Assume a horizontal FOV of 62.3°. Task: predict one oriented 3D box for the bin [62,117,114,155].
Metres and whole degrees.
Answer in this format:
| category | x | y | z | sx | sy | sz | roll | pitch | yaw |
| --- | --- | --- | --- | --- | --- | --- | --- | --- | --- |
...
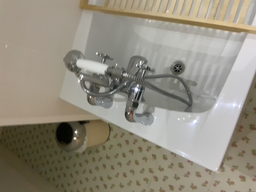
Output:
| category | x | y | z | sx | sy | sz | roll | pitch | yaw |
| --- | --- | --- | --- | --- | --- | --- | --- | --- | --- |
| bin | -0.240 | 0.240 | 1.340 | 0.110 | 0.310 | 0.180 | 20 | 96 | 28 |
